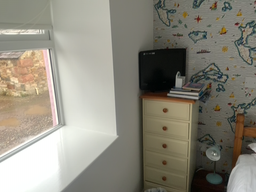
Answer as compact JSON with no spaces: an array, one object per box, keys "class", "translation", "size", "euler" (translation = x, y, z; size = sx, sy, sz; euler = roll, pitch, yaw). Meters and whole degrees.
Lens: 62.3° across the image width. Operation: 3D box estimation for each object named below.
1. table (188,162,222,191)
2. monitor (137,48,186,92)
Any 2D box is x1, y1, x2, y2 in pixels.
[{"class":"table","translation":[0.730,0.860,2.000],"size":[0.260,0.270,0.330],"euler":[6,17,25]},{"class":"monitor","translation":[0.300,-0.230,1.850],"size":[0.480,0.340,0.020],"euler":[-8,17,-23]}]
